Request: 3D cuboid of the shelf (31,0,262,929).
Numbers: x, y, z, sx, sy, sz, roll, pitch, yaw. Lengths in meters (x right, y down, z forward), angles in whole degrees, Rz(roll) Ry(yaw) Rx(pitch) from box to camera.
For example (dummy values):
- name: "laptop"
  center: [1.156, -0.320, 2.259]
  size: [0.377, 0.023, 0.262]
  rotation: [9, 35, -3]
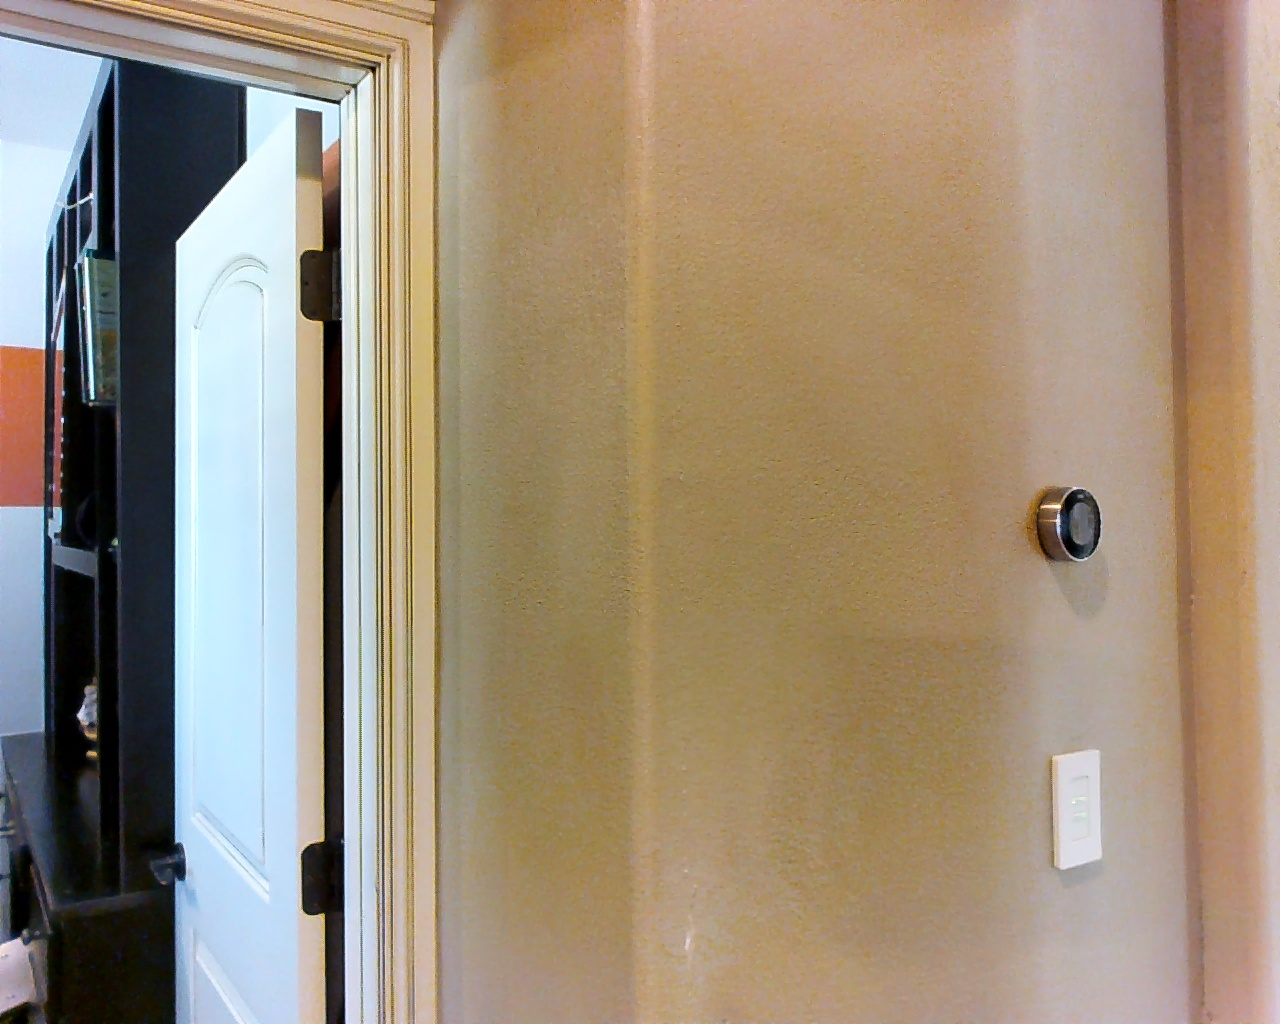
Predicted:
- name: "shelf"
  center: [-1.320, -0.110, 2.690]
  size: [0.250, 1.700, 1.860]
  rotation: [0, -2, -33]

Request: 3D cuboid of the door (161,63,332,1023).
- name: "door"
  center: [-0.620, 0.500, 1.620]
  size: [0.050, 2.080, 0.780]
  rotation: [0, -2, -34]
